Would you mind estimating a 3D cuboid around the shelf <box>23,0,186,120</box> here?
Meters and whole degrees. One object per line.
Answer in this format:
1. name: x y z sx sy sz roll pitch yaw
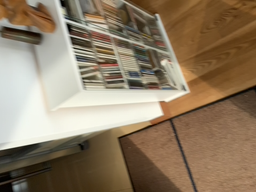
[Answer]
1. shelf: -0.060 -0.260 1.140 0.190 0.840 0.660 -28 75 35
